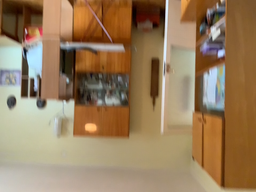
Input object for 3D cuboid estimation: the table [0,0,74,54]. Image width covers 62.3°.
[{"bbox_3d":[-1.440,-1.160,3.410,0.890,0.740,0.950,2,179,-2],"label":"table"}]
